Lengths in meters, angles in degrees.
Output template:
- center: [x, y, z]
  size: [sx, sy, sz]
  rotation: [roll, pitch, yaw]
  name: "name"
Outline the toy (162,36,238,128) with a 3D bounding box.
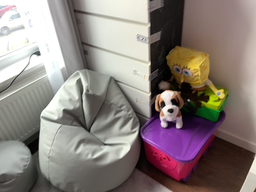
- center: [0.450, -0.100, 1.410]
  size: [0.350, 0.470, 0.240]
  rotation: [25, 47, 33]
  name: "toy"
